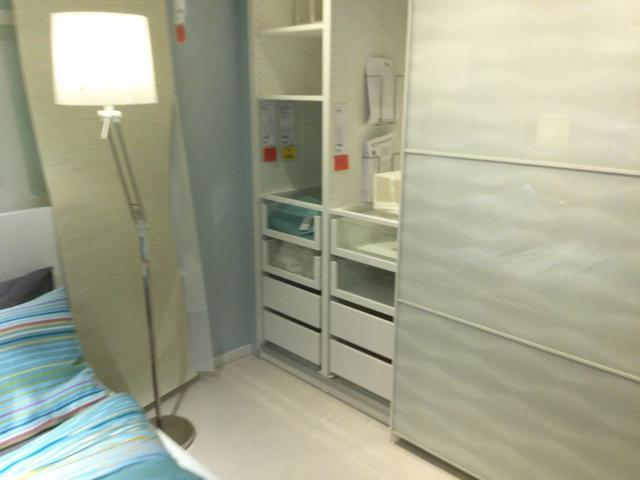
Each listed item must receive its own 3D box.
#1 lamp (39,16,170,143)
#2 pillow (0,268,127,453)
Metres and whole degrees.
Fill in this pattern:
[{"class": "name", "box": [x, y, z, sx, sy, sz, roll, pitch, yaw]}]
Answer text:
[{"class": "lamp", "box": [-0.630, -0.480, 1.710, 0.270, 0.220, 0.330, -15, -64, -40]}, {"class": "pillow", "box": [-0.990, 0.390, 1.660, 0.690, 0.430, 0.200, -15, -21, -41]}]
